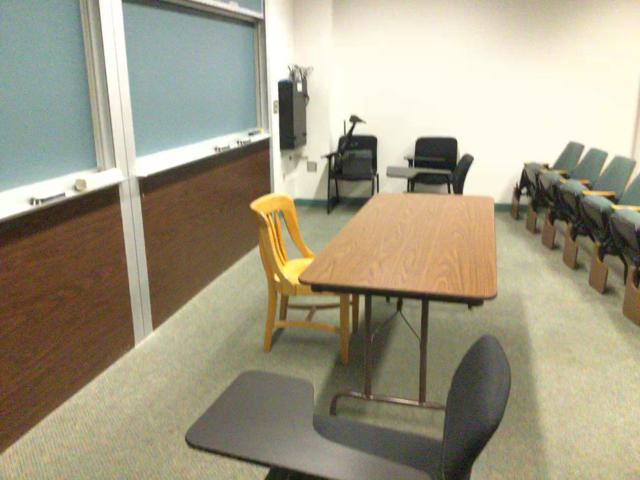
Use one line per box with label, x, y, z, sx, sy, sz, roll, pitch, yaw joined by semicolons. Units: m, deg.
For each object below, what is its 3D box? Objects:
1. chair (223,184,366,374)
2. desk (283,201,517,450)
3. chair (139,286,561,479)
chair;-0.100;0.180;2.970;0.590;0.860;0.460;-1;13;12
desk;0.400;0.280;2.680;0.810;0.720;1.220;-1;13;12
chair;0.110;0.590;1.530;0.840;0.780;0.640;-1;12;11
